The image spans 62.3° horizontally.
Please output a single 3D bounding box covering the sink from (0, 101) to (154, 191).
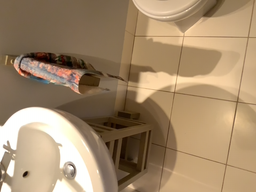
[{"bbox_3d":[-0.200,0.260,0.680,0.440,0.270,0.430,9,92,29],"label":"sink"}]
